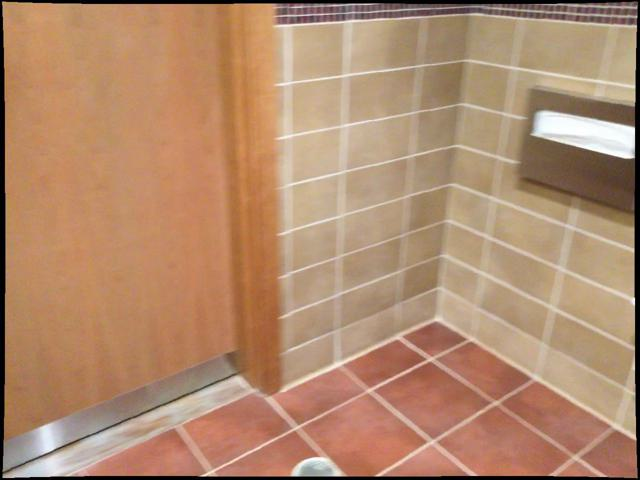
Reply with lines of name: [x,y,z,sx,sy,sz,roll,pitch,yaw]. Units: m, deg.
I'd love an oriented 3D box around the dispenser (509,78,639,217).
dispenser: [0.759,-0.280,1.670,0.070,0.300,0.420,-17,30,-30]
